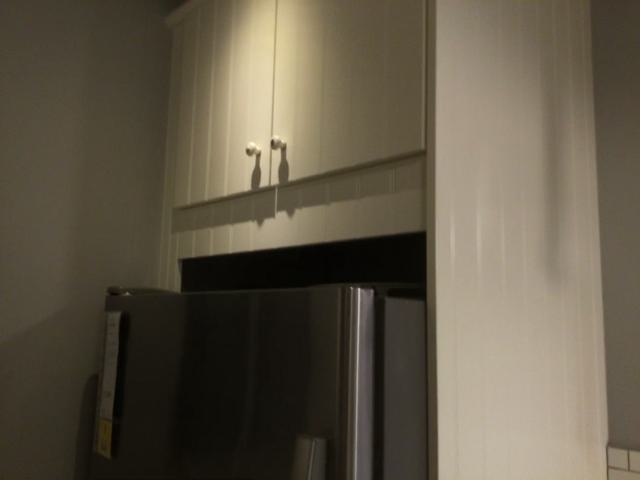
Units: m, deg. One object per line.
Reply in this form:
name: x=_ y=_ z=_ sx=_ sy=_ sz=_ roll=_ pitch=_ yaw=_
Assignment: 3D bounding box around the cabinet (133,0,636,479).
cabinet: x=0.100 y=0.130 z=1.320 sx=0.640 sy=1.570 sz=0.890 roll=8 pitch=-11 yaw=-44
